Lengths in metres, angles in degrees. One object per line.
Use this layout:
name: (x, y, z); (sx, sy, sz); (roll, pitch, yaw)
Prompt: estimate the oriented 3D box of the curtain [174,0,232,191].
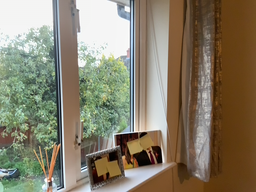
curtain: (0.490, -0.200, 1.390); (0.230, 1.610, 0.270); (6, 9, 45)
